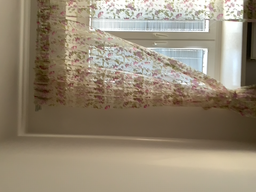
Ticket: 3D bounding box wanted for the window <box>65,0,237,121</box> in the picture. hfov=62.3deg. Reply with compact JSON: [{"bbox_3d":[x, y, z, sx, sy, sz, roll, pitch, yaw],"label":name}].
[{"bbox_3d":[0.210,-0.670,2.090,0.100,1.610,1.760,-44,-43,-86],"label":"window"}]
